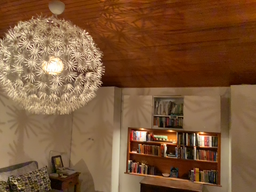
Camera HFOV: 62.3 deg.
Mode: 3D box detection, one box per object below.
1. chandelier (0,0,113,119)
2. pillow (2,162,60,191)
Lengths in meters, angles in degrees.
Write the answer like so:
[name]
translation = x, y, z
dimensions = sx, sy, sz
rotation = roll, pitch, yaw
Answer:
[chandelier]
translation = -0.690, -0.330, 2.000
dimensions = 0.820, 1.050, 0.910
rotation = 0, 175, 14
[pillow]
translation = -1.430, 1.290, 3.190
dimensions = 0.450, 0.420, 0.650
rotation = 0, 175, 21
